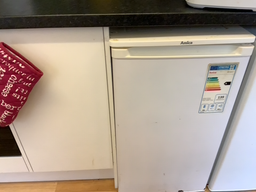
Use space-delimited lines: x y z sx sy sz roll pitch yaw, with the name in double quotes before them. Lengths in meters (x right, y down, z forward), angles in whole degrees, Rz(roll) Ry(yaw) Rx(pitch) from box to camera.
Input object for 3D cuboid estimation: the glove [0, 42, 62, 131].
"glove" -0.420 -0.020 0.760 0.290 0.330 0.070 -2 36 -4
